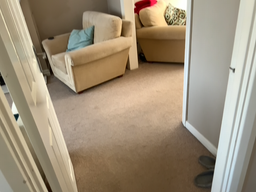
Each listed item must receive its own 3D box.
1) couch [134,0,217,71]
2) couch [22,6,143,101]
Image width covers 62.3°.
[{"bbox_3d":[0.840,-1.130,3.550,1.070,0.890,1.240,8,34,21],"label":"couch"},{"bbox_3d":[-0.640,-0.740,3.150,1.230,0.860,1.140,-25,36,-29],"label":"couch"}]
